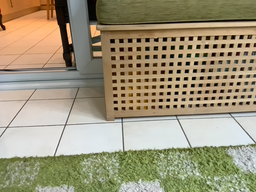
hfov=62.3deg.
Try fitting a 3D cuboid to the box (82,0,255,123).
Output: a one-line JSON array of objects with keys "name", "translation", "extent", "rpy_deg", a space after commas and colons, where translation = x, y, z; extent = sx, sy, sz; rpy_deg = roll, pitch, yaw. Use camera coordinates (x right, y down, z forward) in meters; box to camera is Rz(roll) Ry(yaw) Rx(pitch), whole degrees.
[{"name": "box", "translation": [0.330, -0.270, 1.230], "extent": [1.060, 0.630, 0.510], "rpy_deg": [-2, 28, -3]}]
